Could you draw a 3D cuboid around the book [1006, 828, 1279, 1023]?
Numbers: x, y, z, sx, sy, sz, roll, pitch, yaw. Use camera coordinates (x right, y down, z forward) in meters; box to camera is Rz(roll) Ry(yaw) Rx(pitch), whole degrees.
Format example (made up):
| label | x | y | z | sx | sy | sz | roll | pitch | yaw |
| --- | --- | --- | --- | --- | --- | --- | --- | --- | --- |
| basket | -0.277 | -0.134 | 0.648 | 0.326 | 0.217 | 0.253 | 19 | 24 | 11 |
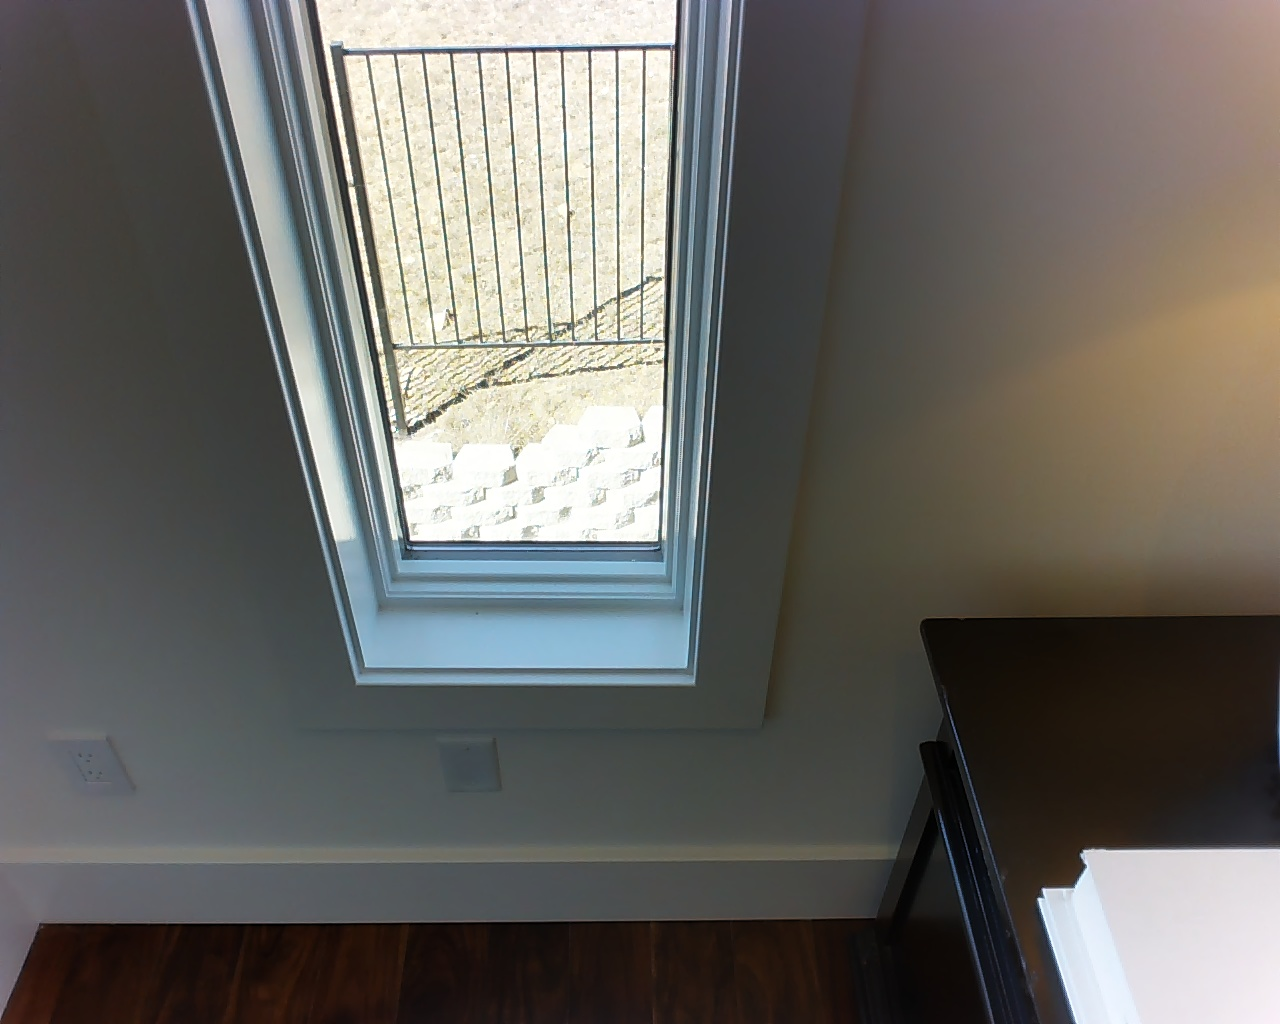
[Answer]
| label | x | y | z | sx | sy | sz | roll | pitch | yaw |
| --- | --- | --- | --- | --- | --- | --- | --- | --- | --- |
| book | 0.450 | 0.350 | 0.780 | 0.290 | 0.080 | 0.220 | -1 | 42 | -2 |
